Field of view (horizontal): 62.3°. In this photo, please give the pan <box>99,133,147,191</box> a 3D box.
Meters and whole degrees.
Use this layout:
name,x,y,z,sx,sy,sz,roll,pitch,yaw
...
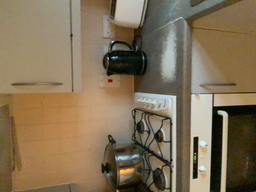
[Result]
name,x,y,z,sx,sy,sz,roll,pitch,yaw
pan,-0.040,0.410,1.310,0.270,0.220,0.290,-169,78,-69
